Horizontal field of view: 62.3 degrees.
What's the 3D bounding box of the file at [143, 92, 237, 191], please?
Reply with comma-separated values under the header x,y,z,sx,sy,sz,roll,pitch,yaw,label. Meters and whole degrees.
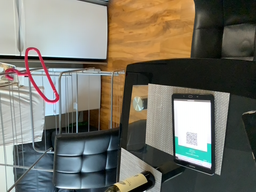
x,y,z,sx,sy,sz,roll,pitch,yaw,label
0.190,0.140,0.760,0.340,0.030,0.260,15,106,48,file
